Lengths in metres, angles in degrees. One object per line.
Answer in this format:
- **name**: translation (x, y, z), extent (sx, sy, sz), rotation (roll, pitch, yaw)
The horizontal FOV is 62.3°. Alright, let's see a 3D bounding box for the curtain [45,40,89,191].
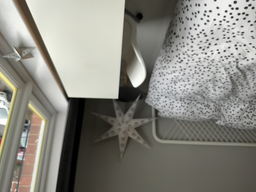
- **curtain**: translation (-0.580, 0.650, 1.980), extent (0.210, 2.510, 0.440), rotation (4, 157, -7)

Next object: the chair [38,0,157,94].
- **chair**: translation (-0.140, -0.510, 1.640), extent (0.690, 0.760, 0.640), rotation (-2, 157, 7)
